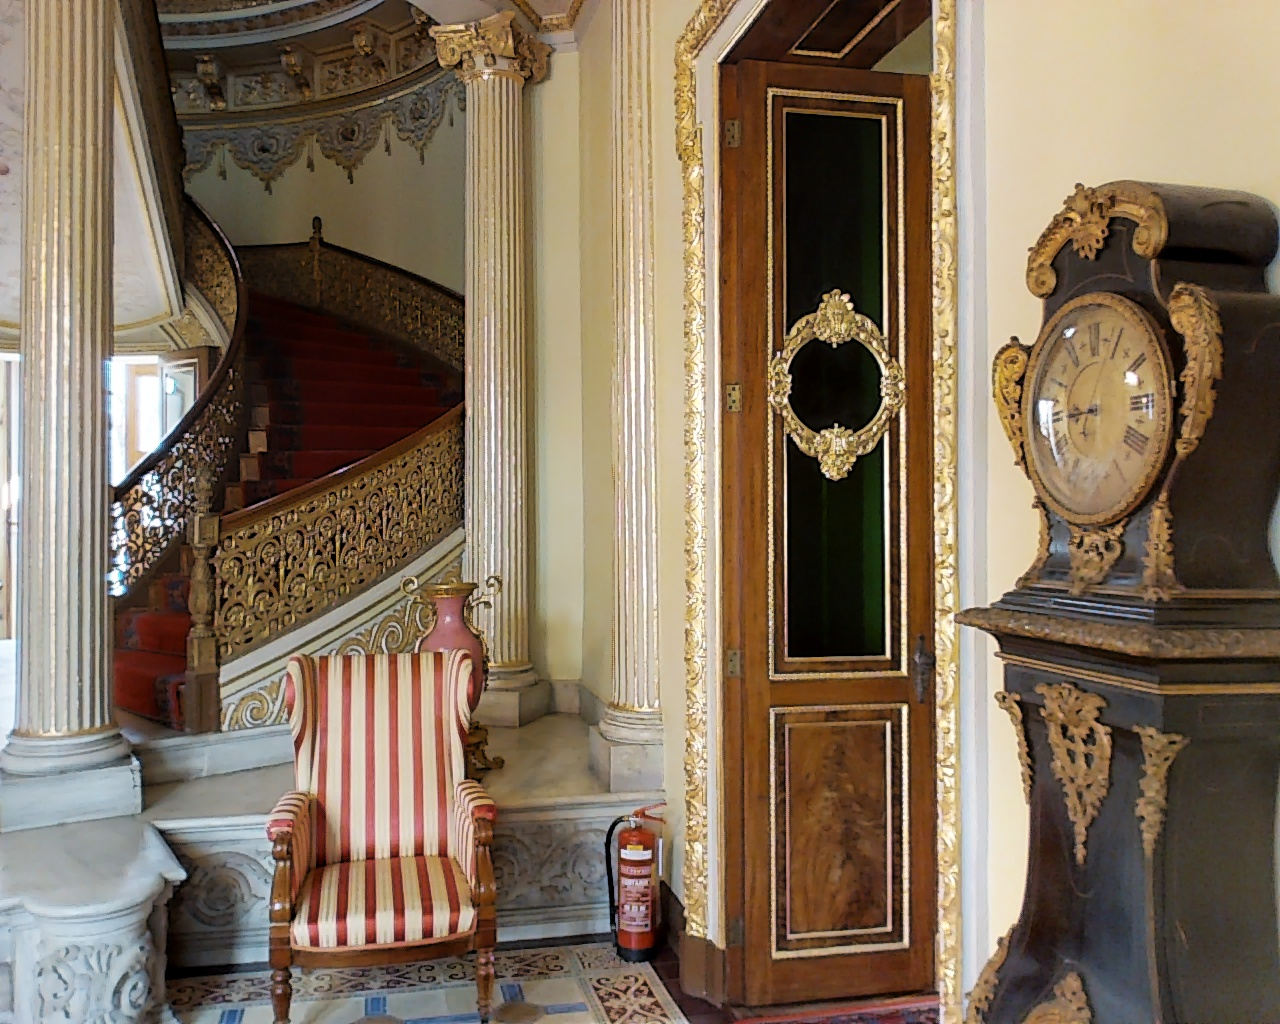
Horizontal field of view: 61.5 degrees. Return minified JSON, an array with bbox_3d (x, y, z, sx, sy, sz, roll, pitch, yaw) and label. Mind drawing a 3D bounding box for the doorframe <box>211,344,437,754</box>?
[{"bbox_3d":[-2.169,0.240,7.590,0.440,2.581,1.650,-1,-1,32],"label":"doorframe"}]
